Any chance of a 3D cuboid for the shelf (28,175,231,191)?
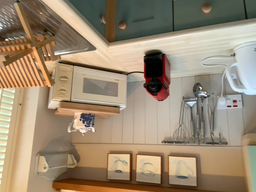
[{"bbox_3d":[-0.050,0.600,1.360,1.310,0.070,0.170,-3,166,19],"label":"shelf"}]
